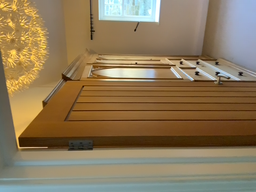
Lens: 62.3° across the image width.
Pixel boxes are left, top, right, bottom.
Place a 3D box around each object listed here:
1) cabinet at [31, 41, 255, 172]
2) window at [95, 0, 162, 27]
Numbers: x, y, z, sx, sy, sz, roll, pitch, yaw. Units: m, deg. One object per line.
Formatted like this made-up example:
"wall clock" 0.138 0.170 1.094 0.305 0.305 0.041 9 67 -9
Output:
"cabinet" 0.380 -0.170 2.660 2.410 2.190 0.650 -101 12 -68
"window" 0.000 -1.920 3.870 0.530 1.170 1.200 -101 13 -69
